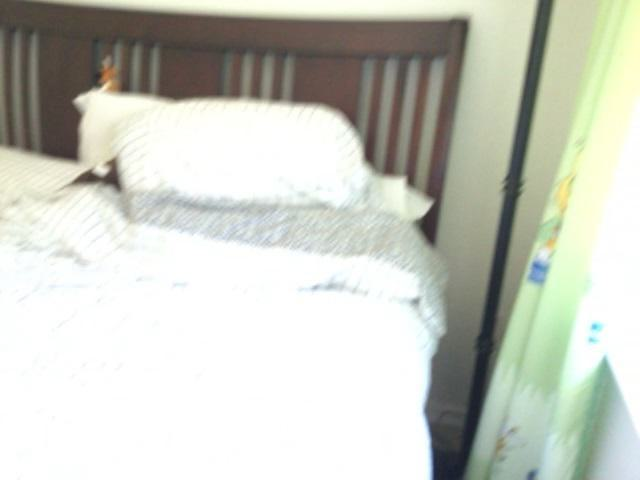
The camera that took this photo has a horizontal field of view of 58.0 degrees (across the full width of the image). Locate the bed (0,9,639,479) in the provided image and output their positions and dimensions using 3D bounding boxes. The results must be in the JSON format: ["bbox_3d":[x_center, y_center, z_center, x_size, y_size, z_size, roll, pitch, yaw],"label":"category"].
[{"bbox_3d":[-0.540,0.370,0.960,1.840,1.310,2.340,7,23,11],"label":"bed"}]

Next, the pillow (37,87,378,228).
[{"bbox_3d":[-0.270,-0.250,1.570,0.790,0.220,0.400,7,23,11],"label":"pillow"}]
